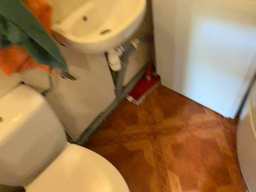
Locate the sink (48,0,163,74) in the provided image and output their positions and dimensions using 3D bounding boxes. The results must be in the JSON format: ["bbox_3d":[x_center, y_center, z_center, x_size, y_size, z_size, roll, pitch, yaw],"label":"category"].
[{"bbox_3d":[-0.080,-0.350,0.970,0.250,0.170,0.450,34,66,28],"label":"sink"}]
